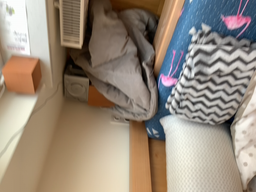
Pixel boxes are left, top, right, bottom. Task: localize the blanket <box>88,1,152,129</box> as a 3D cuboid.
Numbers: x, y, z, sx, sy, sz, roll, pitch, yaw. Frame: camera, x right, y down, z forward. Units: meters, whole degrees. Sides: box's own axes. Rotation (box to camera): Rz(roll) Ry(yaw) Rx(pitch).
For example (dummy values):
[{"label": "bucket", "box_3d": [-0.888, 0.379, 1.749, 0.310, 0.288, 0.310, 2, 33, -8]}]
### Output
[{"label": "blanket", "box_3d": [-0.070, -0.160, 1.230, 0.240, 0.410, 0.580, 7, 134, -7]}]
